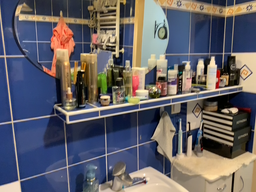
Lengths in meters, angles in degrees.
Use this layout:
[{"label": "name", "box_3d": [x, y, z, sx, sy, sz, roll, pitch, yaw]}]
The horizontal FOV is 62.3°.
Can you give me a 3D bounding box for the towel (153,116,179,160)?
[{"label": "towel", "box_3d": [0.230, 0.250, 1.280, 0.140, 0.220, 0.070, -9, 14, -36]}]
